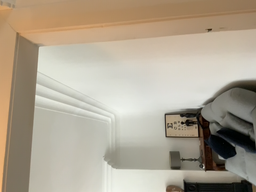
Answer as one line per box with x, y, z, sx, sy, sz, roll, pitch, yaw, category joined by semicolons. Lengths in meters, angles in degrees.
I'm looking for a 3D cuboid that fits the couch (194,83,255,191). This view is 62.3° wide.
1.550;0.600;3.060;1.940;0.800;1.190;46;-137;-77;couch
